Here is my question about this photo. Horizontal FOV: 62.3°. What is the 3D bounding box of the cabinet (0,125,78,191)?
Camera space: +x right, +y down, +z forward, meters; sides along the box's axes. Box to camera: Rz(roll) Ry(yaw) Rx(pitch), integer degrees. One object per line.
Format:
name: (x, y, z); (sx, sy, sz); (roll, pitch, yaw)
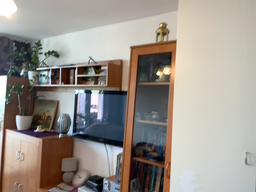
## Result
cabinet: (-1.270, 1.010, 2.980); (0.970, 1.070, 0.530); (3, -2, 36)

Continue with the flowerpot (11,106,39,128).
flowerpot: (-1.540, 0.310, 3.170); (0.250, 0.300, 0.270); (3, -2, 39)

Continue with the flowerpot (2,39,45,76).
flowerpot: (-1.730, -0.600, 3.500); (0.540, 0.490, 0.410); (3, -2, 39)

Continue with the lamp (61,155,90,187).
lamp: (-0.670, 0.950, 2.710); (0.290, 0.290, 0.200); (2, -2, 40)

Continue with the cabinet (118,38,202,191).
cabinet: (0.280, 0.600, 1.870); (0.470, 2.040, 0.540); (3, -2, 36)
